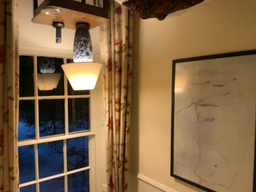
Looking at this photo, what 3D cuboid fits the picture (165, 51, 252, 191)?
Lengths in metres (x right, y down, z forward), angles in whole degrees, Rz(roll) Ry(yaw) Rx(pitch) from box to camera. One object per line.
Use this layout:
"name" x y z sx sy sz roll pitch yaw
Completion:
"picture" 0.590 0.220 1.700 0.060 1.050 0.720 -3 -176 -37

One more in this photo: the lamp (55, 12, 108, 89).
"lamp" -0.420 -0.370 1.920 0.360 0.610 0.310 -3 -176 -37
